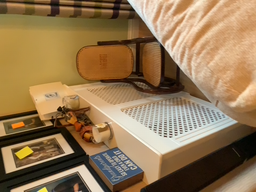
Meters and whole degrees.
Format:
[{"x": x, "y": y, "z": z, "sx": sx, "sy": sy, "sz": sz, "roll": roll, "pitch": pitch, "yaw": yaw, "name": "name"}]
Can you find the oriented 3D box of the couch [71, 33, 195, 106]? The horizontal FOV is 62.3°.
[{"x": 0.020, "y": -0.290, "z": 1.760, "sx": 0.670, "sy": 0.730, "sz": 0.430, "roll": 25, "pitch": 120, "yaw": 51, "name": "couch"}]
